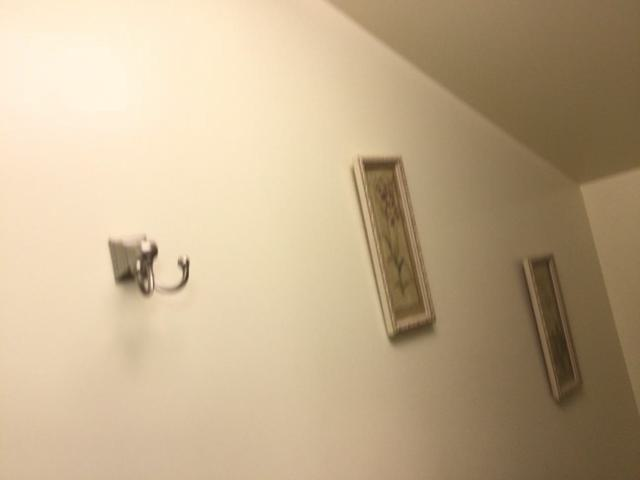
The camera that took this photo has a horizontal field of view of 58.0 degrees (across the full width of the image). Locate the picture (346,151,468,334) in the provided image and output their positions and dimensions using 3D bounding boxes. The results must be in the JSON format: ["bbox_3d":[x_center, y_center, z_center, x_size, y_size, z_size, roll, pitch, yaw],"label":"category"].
[{"bbox_3d":[0.170,0.000,1.110,0.210,0.330,0.040,-1,-13,-39],"label":"picture"}]

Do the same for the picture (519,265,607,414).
[{"bbox_3d":[0.590,0.230,1.400,0.210,0.330,0.030,-1,-13,-39],"label":"picture"}]

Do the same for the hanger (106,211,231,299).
[{"bbox_3d":[-0.200,0.020,0.760,0.120,0.090,0.100,-1,-13,-39],"label":"hanger"}]
